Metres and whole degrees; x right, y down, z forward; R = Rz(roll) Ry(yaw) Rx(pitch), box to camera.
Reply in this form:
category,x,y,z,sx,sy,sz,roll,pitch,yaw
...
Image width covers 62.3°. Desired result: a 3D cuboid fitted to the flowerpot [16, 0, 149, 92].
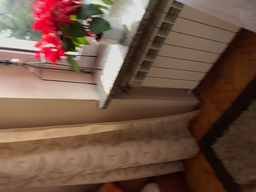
category,x,y,z,sx,sy,sz,roll,pitch,yaw
flowerpot,-0.290,-0.350,1.150,0.340,0.540,0.550,61,139,41
